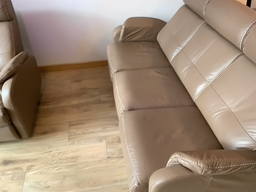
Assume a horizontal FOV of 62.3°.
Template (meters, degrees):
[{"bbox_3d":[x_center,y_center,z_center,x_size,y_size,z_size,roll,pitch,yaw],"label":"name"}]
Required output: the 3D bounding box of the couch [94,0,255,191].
[{"bbox_3d":[0.340,-0.210,1.680,1.050,0.980,1.840,-7,41,-8],"label":"couch"}]
